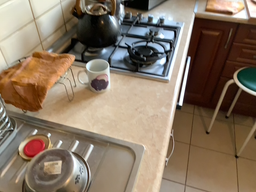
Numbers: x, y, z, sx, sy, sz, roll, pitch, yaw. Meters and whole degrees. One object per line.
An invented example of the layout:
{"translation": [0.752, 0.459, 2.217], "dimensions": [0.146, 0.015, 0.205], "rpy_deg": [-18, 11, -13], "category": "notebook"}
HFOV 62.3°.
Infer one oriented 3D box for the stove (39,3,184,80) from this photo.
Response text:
{"translation": [-0.030, -0.320, 1.070], "dimensions": [0.560, 0.040, 0.580], "rpy_deg": [11, 43, 11], "category": "stove"}
